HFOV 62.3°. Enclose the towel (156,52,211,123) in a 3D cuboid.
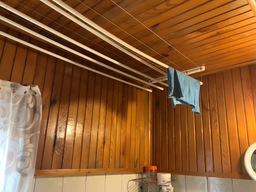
[{"bbox_3d":[0.340,-0.020,1.250,0.140,0.280,0.470,-9,-19,34],"label":"towel"}]
